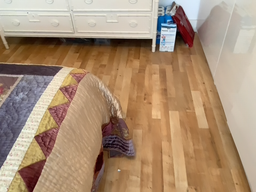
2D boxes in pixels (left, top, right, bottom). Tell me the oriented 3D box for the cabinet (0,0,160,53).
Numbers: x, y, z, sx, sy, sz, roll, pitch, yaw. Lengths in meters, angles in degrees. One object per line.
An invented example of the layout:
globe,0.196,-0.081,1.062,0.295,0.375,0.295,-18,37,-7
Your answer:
cabinet,-0.540,-0.970,2.210,1.700,0.840,0.510,2,42,4
